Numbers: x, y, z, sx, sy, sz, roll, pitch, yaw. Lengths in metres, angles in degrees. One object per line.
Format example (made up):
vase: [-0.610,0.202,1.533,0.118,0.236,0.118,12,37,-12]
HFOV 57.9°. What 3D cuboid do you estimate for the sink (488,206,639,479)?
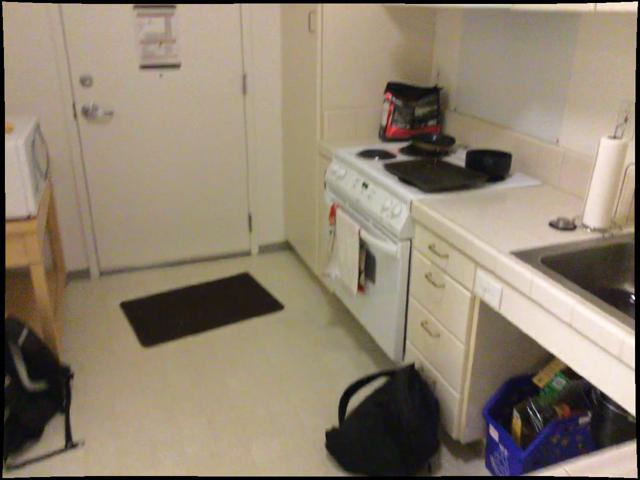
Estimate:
sink: [0.919,0.280,1.580,0.570,0.540,0.600,-7,25,-20]
